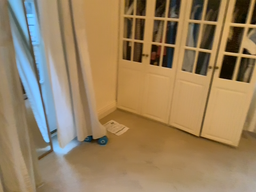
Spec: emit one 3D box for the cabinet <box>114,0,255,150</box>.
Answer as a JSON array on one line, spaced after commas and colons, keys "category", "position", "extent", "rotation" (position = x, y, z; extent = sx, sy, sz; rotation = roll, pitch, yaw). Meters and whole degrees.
[{"category": "cabinet", "position": [0.640, -0.740, 2.300], "extent": [1.540, 2.210, 0.490], "rotation": [17, 26, 29]}]
